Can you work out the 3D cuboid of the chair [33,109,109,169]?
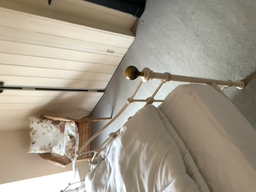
[{"bbox_3d":[-0.750,0.500,2.780,0.600,0.780,0.600,1,90,53],"label":"chair"}]
